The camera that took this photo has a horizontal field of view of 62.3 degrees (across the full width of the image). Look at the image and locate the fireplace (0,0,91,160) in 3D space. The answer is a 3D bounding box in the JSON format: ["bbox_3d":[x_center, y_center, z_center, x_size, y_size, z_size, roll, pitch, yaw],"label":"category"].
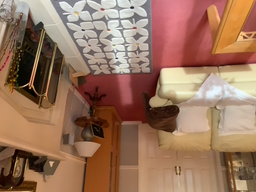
[{"bbox_3d":[-0.930,-0.070,2.020,0.630,1.160,1.580,-2,157,7],"label":"fireplace"}]

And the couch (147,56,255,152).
[{"bbox_3d":[1.090,0.190,2.830,1.610,0.950,1.050,-2,157,7],"label":"couch"}]
